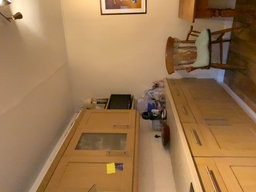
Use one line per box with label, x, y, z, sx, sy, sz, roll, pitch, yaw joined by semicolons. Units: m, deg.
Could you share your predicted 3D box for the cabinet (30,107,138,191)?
cabinet;-0.320;0.590;2.390;1.500;0.850;0.270;-82;-8;-65
